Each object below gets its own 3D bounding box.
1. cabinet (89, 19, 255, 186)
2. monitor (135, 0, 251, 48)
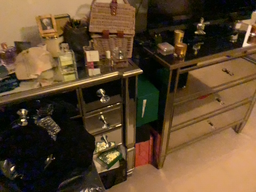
[{"bbox_3d":[0.340,-0.010,1.480,1.030,0.780,0.480,-17,39,-22],"label":"cabinet"},{"bbox_3d":[0.410,-0.610,1.180,0.790,0.540,0.070,-17,41,-19],"label":"monitor"}]
